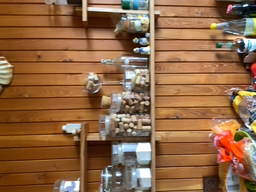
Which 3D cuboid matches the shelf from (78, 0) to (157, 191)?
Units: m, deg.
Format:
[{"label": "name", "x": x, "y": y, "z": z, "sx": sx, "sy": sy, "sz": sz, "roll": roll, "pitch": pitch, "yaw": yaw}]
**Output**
[{"label": "shelf", "x": -0.050, "y": -0.110, "z": 1.020, "sx": 0.110, "sy": 0.350, "sz": 1.890, "roll": 155, "pitch": 115, "yaw": -84}]
